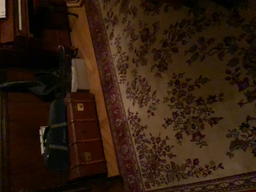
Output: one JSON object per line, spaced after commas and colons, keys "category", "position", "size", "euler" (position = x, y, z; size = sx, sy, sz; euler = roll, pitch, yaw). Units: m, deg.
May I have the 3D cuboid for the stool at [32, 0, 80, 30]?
{"category": "stool", "position": [-1.040, -1.310, 3.030], "size": [0.290, 0.570, 0.540], "euler": [-34, 61, 51]}
